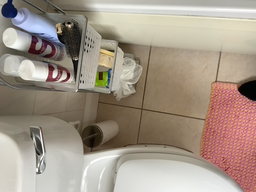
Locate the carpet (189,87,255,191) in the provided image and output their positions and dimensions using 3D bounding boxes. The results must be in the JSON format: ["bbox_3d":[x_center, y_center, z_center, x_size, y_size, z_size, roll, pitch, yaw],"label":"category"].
[{"bbox_3d":[0.580,0.410,0.980,0.550,0.020,0.850,7,92,14],"label":"carpet"}]

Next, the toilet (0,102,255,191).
[{"bbox_3d":[0.020,0.340,0.730,0.720,0.790,0.510,8,93,14],"label":"toilet"}]
